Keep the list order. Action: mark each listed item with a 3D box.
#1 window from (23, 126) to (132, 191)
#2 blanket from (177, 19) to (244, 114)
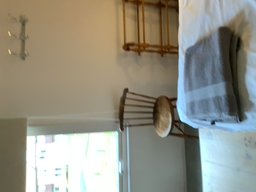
[{"bbox_3d":[-0.520,0.870,2.290,0.270,1.080,1.040,159,110,-70],"label":"window"},{"bbox_3d":[0.400,-0.120,1.100,0.350,0.080,0.400,154,114,-70],"label":"blanket"}]
